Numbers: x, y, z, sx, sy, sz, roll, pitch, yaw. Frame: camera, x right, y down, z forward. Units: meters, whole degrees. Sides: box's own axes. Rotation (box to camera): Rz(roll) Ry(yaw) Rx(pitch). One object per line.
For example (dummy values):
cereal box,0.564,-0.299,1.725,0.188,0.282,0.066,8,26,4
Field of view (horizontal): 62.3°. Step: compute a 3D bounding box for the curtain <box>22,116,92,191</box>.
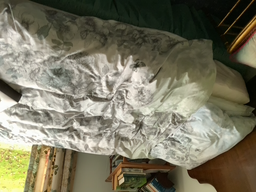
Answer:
curtain,-0.640,1.210,1.720,0.560,2.260,0.190,9,141,-17
